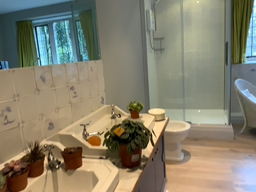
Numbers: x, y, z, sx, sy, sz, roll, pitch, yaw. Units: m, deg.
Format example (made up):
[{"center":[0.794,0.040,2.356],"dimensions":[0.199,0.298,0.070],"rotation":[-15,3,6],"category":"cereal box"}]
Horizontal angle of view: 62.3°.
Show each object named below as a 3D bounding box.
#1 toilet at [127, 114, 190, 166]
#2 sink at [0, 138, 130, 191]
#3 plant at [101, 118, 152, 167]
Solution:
[{"center":[0.400,0.520,2.640],"dimensions":[0.690,0.450,0.440],"rotation":[0,12,19],"category":"toilet"},{"center":[-0.330,0.430,0.780],"dimensions":[0.470,0.270,0.690],"rotation":[0,12,19],"category":"sink"},{"center":[0.000,0.220,1.050],"dimensions":[0.200,0.180,0.150],"rotation":[0,12,20],"category":"plant"}]
